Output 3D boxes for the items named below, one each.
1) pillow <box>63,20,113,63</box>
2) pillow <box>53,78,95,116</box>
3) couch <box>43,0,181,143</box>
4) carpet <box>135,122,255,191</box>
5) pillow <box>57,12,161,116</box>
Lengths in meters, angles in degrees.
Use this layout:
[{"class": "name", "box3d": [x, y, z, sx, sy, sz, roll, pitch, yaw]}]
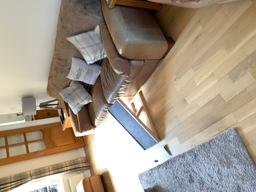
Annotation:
[{"class": "pillow", "box3d": [-0.450, -0.600, 2.420, 0.350, 0.420, 0.140, -33, 63, 19]}, {"class": "pillow", "box3d": [-0.780, 0.030, 3.090, 0.370, 0.430, 0.300, -26, 64, 13]}, {"class": "couch", "box3d": [-0.460, -0.330, 2.810, 2.050, 0.870, 1.070, -52, 53, 49]}, {"class": "carpet", "box3d": [0.680, 1.190, 2.050, 1.690, 0.040, 1.280, -52, 53, 49]}, {"class": "pillow", "box3d": [-0.360, -0.310, 2.810, 1.520, 0.810, 0.410, -50, 54, 49]}]
